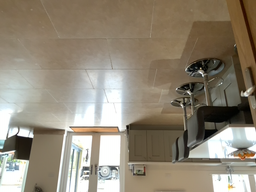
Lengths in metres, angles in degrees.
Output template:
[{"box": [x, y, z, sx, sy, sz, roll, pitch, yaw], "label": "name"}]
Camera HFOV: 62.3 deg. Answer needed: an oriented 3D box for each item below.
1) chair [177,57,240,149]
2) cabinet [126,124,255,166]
[{"box": [0.880, 0.090, 2.480, 0.430, 0.960, 0.490, 1, 158, 0], "label": "chair"}, {"box": [1.990, 1.220, 5.240, 4.060, 0.890, 0.590, 0, 158, 1], "label": "cabinet"}]
